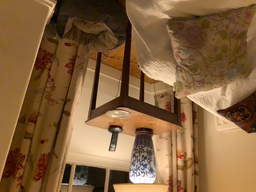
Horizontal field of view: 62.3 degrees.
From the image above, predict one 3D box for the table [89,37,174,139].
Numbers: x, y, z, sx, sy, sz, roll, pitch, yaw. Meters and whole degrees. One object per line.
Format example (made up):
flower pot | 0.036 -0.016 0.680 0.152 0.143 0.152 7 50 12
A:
table | 0.050 -0.030 1.840 0.560 0.650 0.400 19 152 -30
